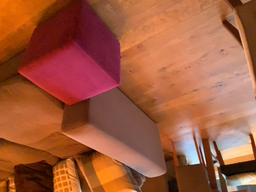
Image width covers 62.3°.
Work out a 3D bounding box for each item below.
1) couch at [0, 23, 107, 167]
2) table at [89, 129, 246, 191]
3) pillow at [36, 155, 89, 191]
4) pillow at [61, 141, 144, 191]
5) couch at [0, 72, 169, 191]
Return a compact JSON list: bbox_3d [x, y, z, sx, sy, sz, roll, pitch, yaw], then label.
[{"bbox_3d":[-0.770,0.070,1.650,1.070,0.610,0.560,-21,141,23],"label":"couch"},{"bbox_3d":[0.590,1.400,3.470,2.230,0.810,1.050,-21,141,23],"label":"table"},{"bbox_3d":[-0.710,0.960,2.320,0.450,0.480,0.240,-24,173,35],"label":"pillow"},{"bbox_3d":[-0.240,0.790,2.050,0.580,0.540,0.220,-21,-167,27],"label":"pillow"},{"bbox_3d":[-1.160,0.860,2.590,2.970,0.760,1.150,-21,141,23],"label":"couch"}]
